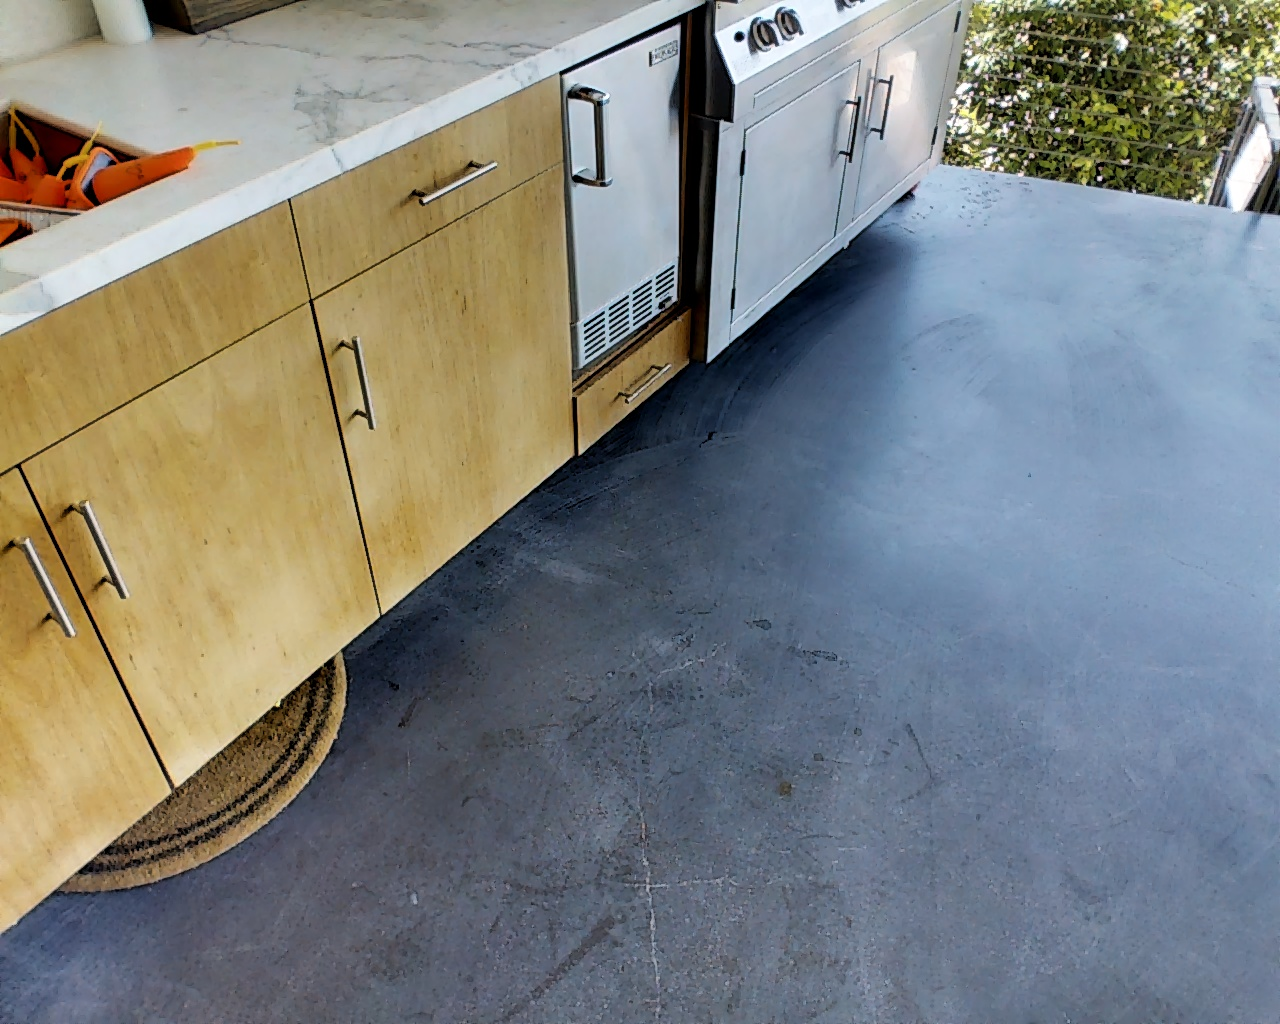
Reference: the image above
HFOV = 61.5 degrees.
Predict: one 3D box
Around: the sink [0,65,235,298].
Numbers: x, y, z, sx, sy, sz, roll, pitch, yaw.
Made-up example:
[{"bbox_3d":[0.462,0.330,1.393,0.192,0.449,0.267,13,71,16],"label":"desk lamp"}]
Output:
[{"bbox_3d":[-0.830,-0.440,1.400,0.430,0.080,0.380,26,48,26],"label":"sink"}]
